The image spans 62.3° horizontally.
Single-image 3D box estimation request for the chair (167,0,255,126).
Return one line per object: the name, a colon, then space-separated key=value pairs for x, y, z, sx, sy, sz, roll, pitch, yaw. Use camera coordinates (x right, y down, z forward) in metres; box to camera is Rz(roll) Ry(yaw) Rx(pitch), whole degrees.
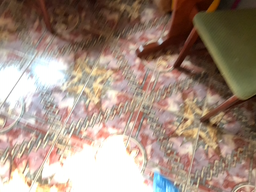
chair: x=0.590 y=-0.250 z=0.960 sx=0.470 sy=0.880 sz=0.430 roll=-15 pitch=69 yaw=-13
